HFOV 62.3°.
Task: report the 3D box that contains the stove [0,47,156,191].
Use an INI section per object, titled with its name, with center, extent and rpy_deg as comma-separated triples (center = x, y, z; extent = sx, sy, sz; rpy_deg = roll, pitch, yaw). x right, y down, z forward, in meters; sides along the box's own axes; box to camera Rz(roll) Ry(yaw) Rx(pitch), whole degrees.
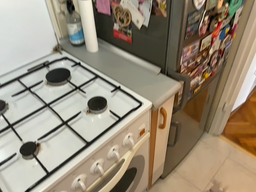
[stove]
center = -0.270, 0.070, 0.760
extent = 0.490, 0.140, 0.540
rpy_deg = -34, 51, -30
